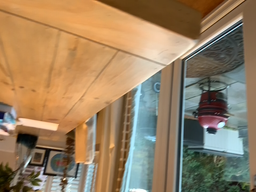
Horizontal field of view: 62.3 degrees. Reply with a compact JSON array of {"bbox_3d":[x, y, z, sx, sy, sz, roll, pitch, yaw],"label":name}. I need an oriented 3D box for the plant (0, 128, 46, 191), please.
[{"bbox_3d":[-1.030,0.630,1.930,0.410,0.600,0.170,12,162,-17],"label":"plant"}]
